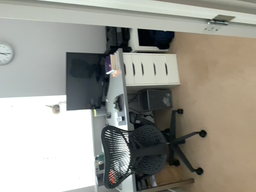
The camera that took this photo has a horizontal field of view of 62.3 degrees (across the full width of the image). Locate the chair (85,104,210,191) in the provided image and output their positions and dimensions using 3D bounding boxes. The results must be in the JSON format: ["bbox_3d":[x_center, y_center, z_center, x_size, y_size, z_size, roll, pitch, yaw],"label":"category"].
[{"bbox_3d":[0.160,0.500,2.210,0.690,1.030,0.700,161,105,-67],"label":"chair"}]
